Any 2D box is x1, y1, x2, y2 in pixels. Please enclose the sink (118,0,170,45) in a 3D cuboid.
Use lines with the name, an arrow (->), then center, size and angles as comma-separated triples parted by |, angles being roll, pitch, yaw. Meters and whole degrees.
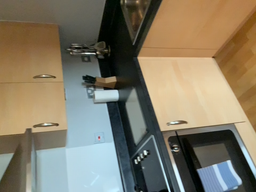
sink -> 0.100, -0.700, 1.680 | 0.330, 0.200, 0.470 | 117, 144, -53
